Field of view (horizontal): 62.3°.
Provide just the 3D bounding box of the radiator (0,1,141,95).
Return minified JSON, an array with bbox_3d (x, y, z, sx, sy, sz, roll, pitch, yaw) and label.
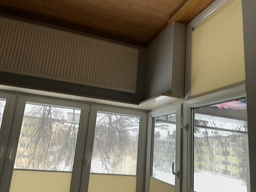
[{"bbox_3d":[-0.770,-0.530,2.530,1.880,0.710,0.250,9,166,-21],"label":"radiator"}]
